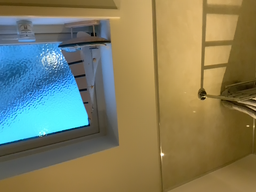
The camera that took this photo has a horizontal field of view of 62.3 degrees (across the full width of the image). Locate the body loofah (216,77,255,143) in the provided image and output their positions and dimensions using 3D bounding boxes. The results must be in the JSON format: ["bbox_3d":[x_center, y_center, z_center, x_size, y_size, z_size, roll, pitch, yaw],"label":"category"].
[{"bbox_3d":[0.870,0.070,1.410,0.420,0.330,0.330,-10,-167,-28],"label":"body loofah"}]
